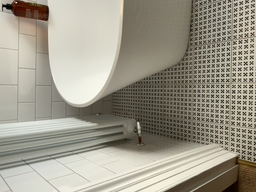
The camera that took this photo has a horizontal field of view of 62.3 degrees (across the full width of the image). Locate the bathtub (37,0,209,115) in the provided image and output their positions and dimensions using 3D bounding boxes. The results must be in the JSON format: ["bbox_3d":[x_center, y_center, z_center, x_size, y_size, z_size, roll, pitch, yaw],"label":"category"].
[{"bbox_3d":[-0.060,-0.780,1.170,0.790,0.560,1.680,1,90,47],"label":"bathtub"}]
